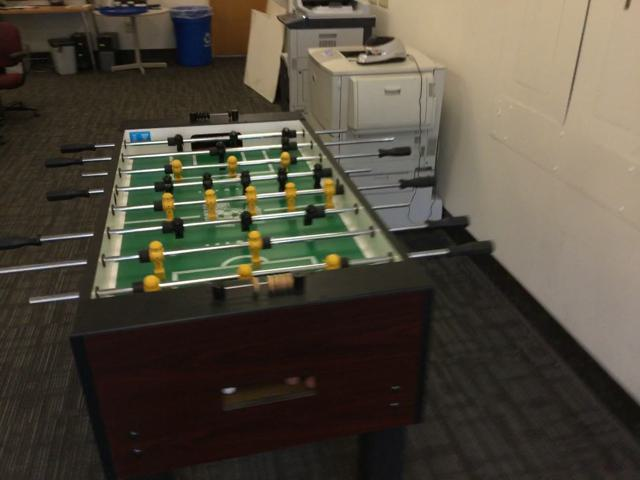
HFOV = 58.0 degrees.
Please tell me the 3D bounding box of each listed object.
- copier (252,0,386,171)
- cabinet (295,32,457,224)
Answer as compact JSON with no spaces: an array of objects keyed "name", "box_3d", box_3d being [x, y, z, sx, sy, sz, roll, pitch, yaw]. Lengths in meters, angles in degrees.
[{"name":"copier","box_3d":[-0.050,-1.210,4.150,0.730,1.170,0.760,-6,29,-15]},{"name":"cabinet","box_3d":[0.240,-0.640,3.130,0.600,0.810,0.770,-5,29,-13]}]
